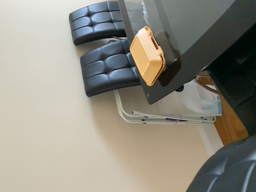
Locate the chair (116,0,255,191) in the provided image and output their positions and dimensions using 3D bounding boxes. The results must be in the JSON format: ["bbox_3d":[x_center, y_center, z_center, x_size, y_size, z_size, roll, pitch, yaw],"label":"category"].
[{"bbox_3d":[0.520,0.010,0.690,0.440,0.920,0.600,-54,42,47],"label":"chair"}]

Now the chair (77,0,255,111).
[{"bbox_3d":[0.250,-0.250,1.240,0.590,0.920,0.440,-52,43,48],"label":"chair"}]

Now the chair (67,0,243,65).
[{"bbox_3d":[0.140,-0.610,1.440,0.590,0.950,0.410,-52,43,48],"label":"chair"}]
